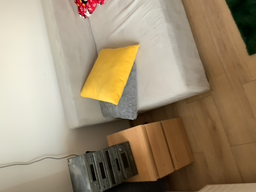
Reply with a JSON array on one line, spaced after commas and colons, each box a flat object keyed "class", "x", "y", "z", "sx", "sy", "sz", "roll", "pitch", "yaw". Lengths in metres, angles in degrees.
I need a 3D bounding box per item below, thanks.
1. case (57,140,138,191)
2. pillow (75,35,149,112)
[{"class": "case", "x": -0.210, "y": 0.480, "z": 1.430, "sx": 0.360, "sy": 0.360, "sz": 0.230, "roll": -28, "pitch": 74, "yaw": 44}, {"class": "pillow", "x": -0.140, "y": -0.170, "z": 1.540, "sx": 0.470, "sy": 0.210, "sz": 0.450, "roll": 16, "pitch": 90, "yaw": 53}]
